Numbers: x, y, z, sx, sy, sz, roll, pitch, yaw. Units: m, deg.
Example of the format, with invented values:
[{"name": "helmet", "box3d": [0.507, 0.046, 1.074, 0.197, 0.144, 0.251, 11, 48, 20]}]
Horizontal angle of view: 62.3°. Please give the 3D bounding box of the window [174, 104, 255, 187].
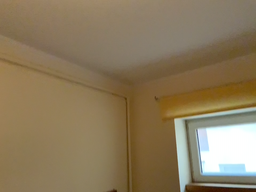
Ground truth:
[{"name": "window", "box3d": [0.920, 0.490, 2.070, 0.850, 0.700, 0.180, -12, -18, 32]}]
